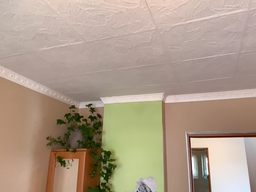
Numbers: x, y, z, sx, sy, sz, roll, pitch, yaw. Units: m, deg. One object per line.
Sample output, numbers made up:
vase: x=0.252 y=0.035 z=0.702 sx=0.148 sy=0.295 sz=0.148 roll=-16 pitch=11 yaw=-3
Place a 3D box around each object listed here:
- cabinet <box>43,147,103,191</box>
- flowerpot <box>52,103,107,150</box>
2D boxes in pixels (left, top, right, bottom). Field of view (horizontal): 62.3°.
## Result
cabinet: x=-0.640 y=1.530 z=2.270 sx=0.520 sy=1.890 sz=0.370 roll=-5 pitch=-18 yaw=20
flowerpot: x=-0.580 y=0.390 z=2.610 sx=0.490 sy=0.500 sz=0.380 roll=-5 pitch=-18 yaw=20
